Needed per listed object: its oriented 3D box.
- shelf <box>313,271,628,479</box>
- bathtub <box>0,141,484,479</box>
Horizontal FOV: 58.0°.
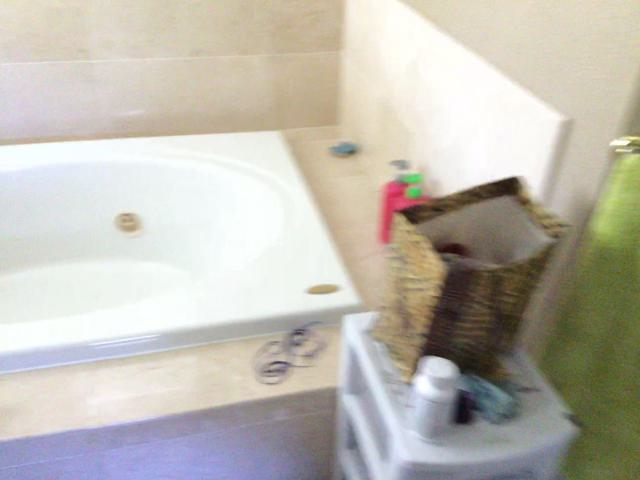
[{"bbox_3d":[0.240,0.500,1.240,0.390,0.710,0.410,-8,33,-17],"label":"shelf"},{"bbox_3d":[-0.700,0.210,1.720,1.890,0.480,1.210,-6,32,-13],"label":"bathtub"}]
